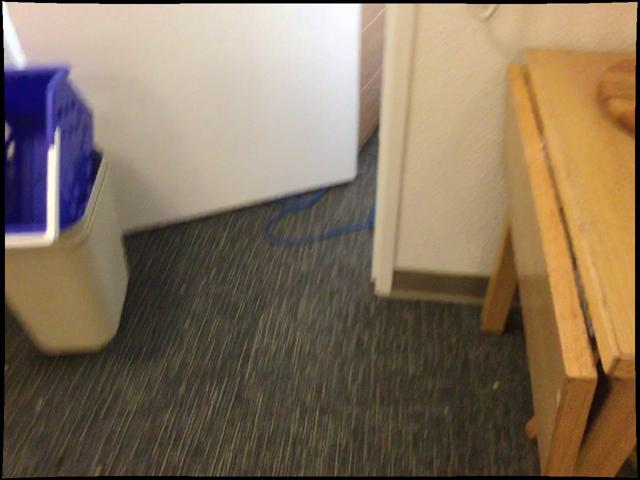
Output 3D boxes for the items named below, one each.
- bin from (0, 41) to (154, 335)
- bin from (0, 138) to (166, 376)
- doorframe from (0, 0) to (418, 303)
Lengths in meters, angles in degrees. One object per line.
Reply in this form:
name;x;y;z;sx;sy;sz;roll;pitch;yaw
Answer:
bin;-0.708;-0.140;1.320;0.409;0.421;0.531;3;42;6
bin;-0.638;0.040;1.510;0.259;0.441;0.420;3;42;6
doorframe;-0.309;-0.441;1.310;1.027;1.422;0.170;3;41;6
